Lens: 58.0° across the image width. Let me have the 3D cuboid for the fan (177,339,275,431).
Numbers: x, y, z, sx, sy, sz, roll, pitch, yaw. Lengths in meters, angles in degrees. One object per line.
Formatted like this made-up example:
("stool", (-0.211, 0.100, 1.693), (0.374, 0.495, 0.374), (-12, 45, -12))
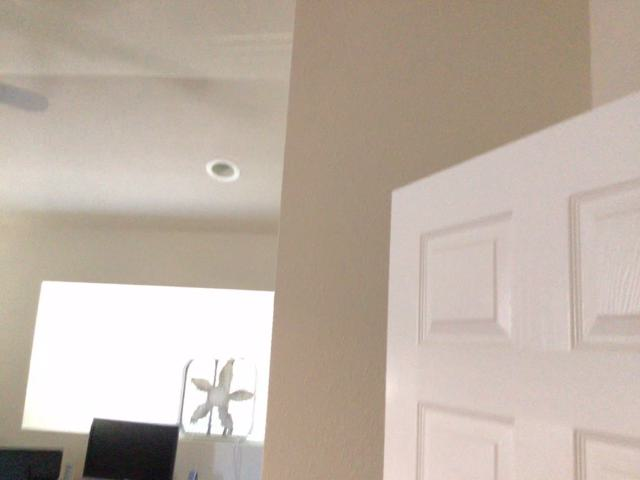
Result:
("fan", (-0.630, 0.980, 3.950), (0.550, 0.540, 0.270), (5, -12, 5))
